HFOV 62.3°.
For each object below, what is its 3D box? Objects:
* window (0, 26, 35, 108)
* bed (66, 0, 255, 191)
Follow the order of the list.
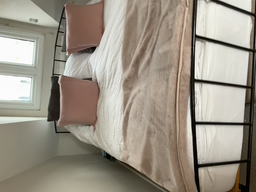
[{"bbox_3d":[-1.530,-0.350,2.600,0.090,0.650,0.960,5,91,64],"label":"window"},{"bbox_3d":[0.000,-0.320,1.970,2.330,0.600,1.660,0,86,64],"label":"bed"}]
